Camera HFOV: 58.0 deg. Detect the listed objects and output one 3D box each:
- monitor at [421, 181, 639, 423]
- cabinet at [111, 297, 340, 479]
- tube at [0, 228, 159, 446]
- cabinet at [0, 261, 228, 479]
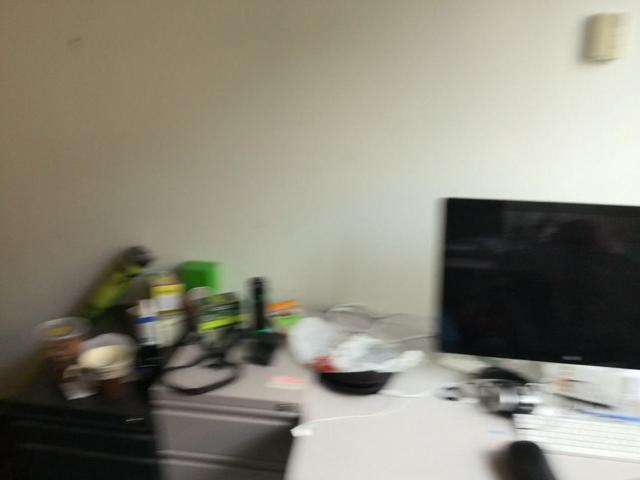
[{"bbox_3d":[0.590,0.150,1.380,0.630,0.490,0.170,7,20,7],"label":"monitor"},{"bbox_3d":[-0.240,0.590,1.600,0.490,0.720,0.360,7,20,7],"label":"cabinet"},{"bbox_3d":[-0.890,0.330,1.970,0.660,0.700,0.100,7,20,7],"label":"tube"},{"bbox_3d":[-0.580,0.540,1.720,0.420,0.730,0.630,7,20,7],"label":"cabinet"}]
